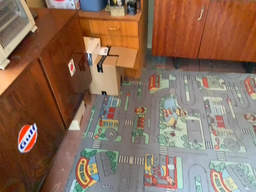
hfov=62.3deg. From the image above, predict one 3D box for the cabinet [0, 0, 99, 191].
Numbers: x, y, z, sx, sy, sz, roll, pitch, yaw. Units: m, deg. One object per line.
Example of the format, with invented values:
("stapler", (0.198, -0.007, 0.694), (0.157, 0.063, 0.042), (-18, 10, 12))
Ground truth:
("cabinet", (-0.690, 0.020, 1.400), (0.570, 0.870, 1.210), (6, 44, 9))
